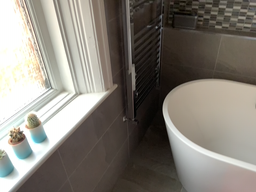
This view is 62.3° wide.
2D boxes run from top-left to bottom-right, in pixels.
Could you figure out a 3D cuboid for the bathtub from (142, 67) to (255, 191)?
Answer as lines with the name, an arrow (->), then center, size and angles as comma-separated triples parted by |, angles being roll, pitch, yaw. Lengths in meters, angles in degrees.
bathtub -> 1.060, 0.430, 1.370 | 1.740, 0.590, 0.840 | 15, 40, 22
